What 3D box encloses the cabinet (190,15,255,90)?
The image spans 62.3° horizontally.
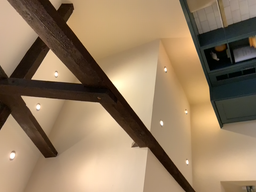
[{"bbox_3d":[1.450,-0.580,3.100,0.850,0.840,0.340,54,-145,-39],"label":"cabinet"}]
